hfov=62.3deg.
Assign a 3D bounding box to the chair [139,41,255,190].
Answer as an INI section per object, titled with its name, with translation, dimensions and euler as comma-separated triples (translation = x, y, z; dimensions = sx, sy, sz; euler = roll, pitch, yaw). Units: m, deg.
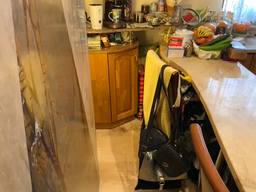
[chair]
translation = 0.420, 0.160, 1.540
dimensions = 0.610, 1.000, 0.430
euler = -1, 30, -3
